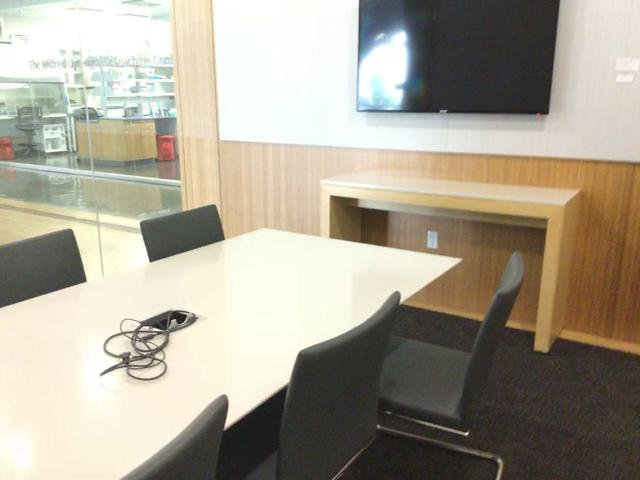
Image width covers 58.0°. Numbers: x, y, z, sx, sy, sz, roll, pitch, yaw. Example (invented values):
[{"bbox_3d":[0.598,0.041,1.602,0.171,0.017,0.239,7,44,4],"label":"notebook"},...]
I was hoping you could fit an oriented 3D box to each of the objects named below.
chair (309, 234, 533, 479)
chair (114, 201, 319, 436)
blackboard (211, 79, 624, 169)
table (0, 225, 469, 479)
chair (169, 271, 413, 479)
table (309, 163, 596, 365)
[{"bbox_3d":[0.360,0.460,2.020,0.600,0.790,0.580,7,16,23],"label":"chair"},{"bbox_3d":[-0.440,0.290,2.590,0.660,0.780,0.570,10,18,31],"label":"chair"},{"bbox_3d":[0.370,-0.800,3.720,2.780,0.440,0.080,10,18,31],"label":"blackboard"},{"bbox_3d":[-0.480,0.620,1.860,1.110,0.780,2.290,10,18,32],"label":"table"},{"bbox_3d":[-0.060,0.550,1.610,0.420,0.760,0.510,10,18,31],"label":"chair"},{"bbox_3d":[0.720,0.060,3.500,1.570,0.880,0.480,10,18,31],"label":"table"}]
